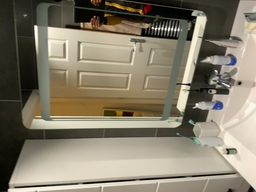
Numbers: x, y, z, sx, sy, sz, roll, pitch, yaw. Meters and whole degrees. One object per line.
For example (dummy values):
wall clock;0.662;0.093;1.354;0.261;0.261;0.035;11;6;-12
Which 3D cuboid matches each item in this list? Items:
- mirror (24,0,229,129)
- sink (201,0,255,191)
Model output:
mirror;0.000;-0.160;1.080;0.040;0.930;0.720;-119;33;-63
sink;0.590;-0.010;0.950;0.450;0.120;0.770;-119;33;-63
